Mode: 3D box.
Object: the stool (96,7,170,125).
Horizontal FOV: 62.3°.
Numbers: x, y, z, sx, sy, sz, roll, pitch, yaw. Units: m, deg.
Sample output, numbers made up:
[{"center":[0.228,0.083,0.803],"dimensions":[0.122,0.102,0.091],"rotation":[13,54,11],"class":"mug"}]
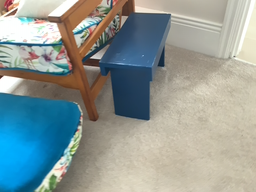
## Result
[{"center":[0.060,-0.170,1.030],"dimensions":[0.210,0.310,0.510],"rotation":[7,45,13],"class":"stool"}]
